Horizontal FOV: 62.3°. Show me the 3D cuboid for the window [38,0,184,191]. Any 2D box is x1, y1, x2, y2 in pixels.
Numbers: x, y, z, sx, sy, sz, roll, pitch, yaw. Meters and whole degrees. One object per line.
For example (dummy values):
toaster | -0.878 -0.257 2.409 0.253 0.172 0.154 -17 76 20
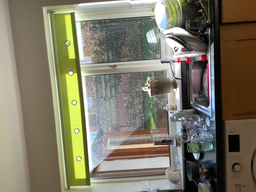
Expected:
window | -0.120 0.040 2.070 0.160 1.250 1.850 -93 0 -83
